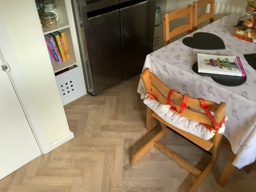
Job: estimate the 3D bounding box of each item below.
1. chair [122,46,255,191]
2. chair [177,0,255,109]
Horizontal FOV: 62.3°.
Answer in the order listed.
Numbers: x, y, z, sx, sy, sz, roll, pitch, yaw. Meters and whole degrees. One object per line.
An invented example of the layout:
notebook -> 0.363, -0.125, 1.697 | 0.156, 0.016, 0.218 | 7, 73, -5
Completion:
chair -> 0.330, 0.200, 1.370 | 0.530, 0.780, 0.500 | -31, 48, -33
chair -> 0.830, -0.430, 2.010 | 0.410, 0.960, 0.410 | -30, 48, -32
